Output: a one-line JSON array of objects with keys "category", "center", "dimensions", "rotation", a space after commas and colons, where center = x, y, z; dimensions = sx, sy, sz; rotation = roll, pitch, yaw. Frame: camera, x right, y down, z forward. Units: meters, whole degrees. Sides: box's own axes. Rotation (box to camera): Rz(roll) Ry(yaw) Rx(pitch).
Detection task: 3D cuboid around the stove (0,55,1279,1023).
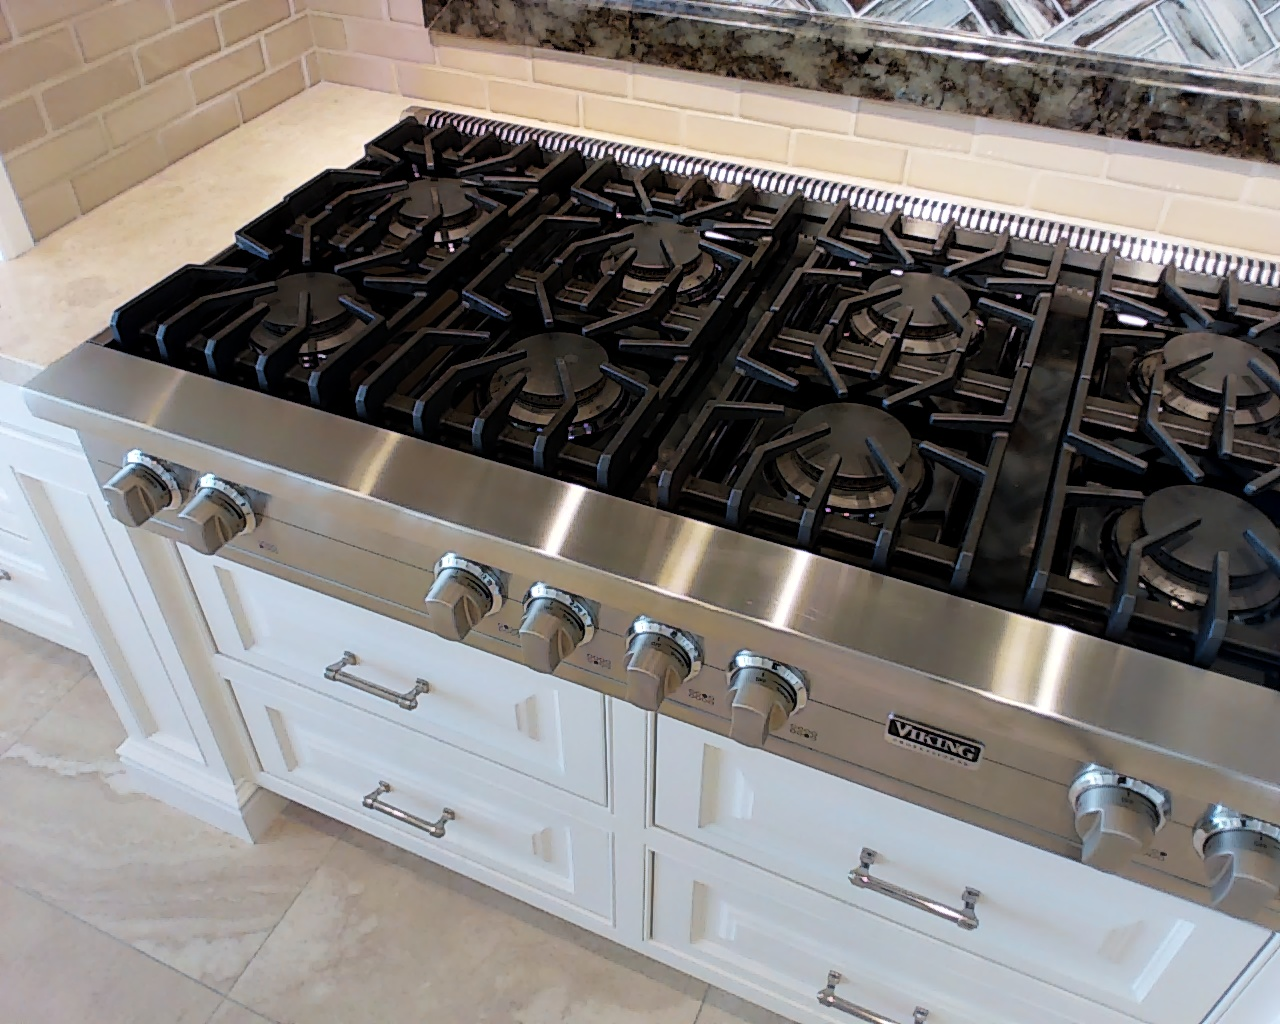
[{"category": "stove", "center": [0.150, -0.090, 1.160], "dimensions": [1.380, 0.350, 0.840], "rotation": [16, 44, 18]}]
